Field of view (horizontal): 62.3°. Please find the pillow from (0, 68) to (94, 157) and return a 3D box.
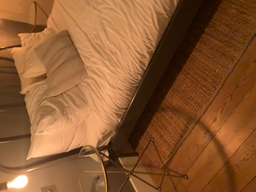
[{"bbox_3d":[-0.590,0.080,1.610,0.650,0.430,0.200,-67,0,-58],"label":"pillow"}]
